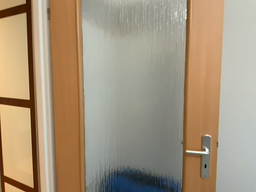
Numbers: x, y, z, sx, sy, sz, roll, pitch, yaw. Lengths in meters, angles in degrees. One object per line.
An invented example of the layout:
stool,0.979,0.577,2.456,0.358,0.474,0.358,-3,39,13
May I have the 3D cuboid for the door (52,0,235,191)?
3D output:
door,0.050,0.300,1.150,0.880,2.100,0.110,1,6,10
